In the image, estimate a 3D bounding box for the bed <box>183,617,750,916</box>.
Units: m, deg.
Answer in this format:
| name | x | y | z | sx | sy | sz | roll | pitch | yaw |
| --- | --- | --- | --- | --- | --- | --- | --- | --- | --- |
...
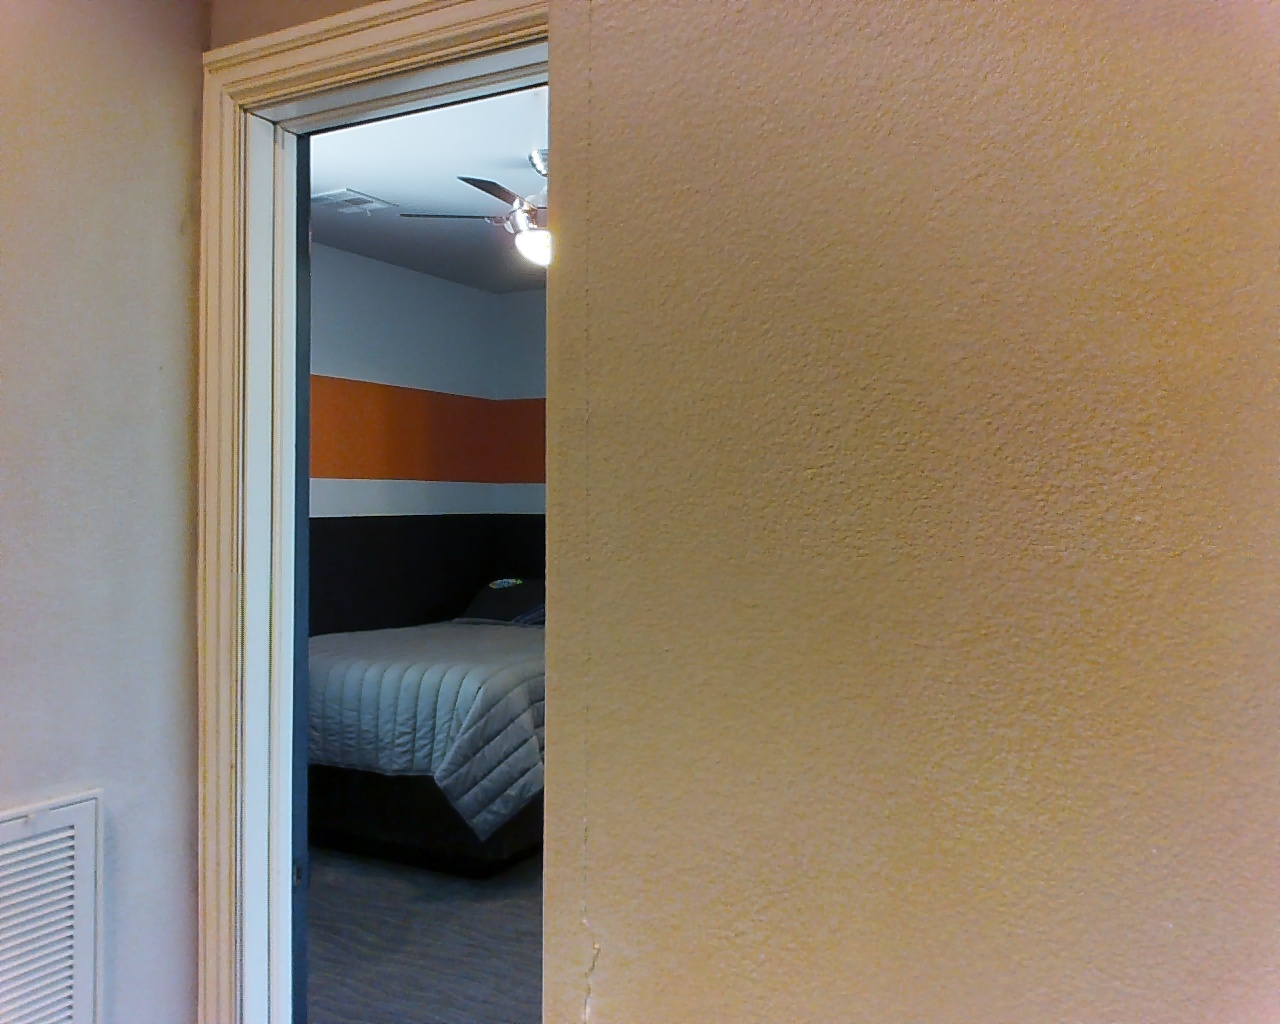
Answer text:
| name | x | y | z | sx | sy | sz | roll | pitch | yaw |
| --- | --- | --- | --- | --- | --- | --- | --- | --- | --- |
| bed | -0.680 | 1.030 | 5.140 | 1.680 | 0.810 | 2.220 | 0 | -1 | 29 |
